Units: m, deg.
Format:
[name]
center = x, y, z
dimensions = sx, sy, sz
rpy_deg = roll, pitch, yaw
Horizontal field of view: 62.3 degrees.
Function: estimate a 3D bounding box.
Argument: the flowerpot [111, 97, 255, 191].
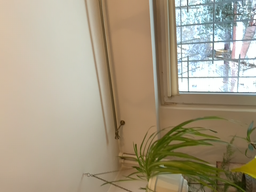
[flowerpot]
center = 0.500, 0.440, 1.350
dimensions = 0.670, 0.960, 0.650
rpy_deg = -44, -48, -62
